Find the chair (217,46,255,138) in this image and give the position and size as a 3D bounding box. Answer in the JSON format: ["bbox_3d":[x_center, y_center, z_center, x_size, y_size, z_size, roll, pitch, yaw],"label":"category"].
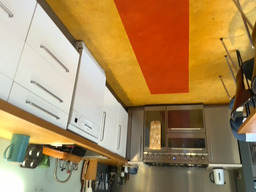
[{"bbox_3d":[1.190,-0.020,2.050,0.460,0.740,0.510,-3,157,14],"label":"chair"}]
